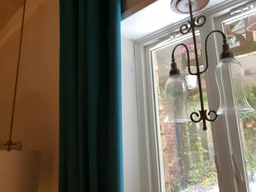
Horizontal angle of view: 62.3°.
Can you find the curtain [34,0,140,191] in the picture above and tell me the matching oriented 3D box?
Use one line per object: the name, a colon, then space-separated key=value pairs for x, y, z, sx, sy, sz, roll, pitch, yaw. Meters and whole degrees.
curtain: x=-0.220 y=0.060 z=1.070 sx=0.480 sy=2.250 sz=0.220 roll=-11 pitch=165 yaw=35
